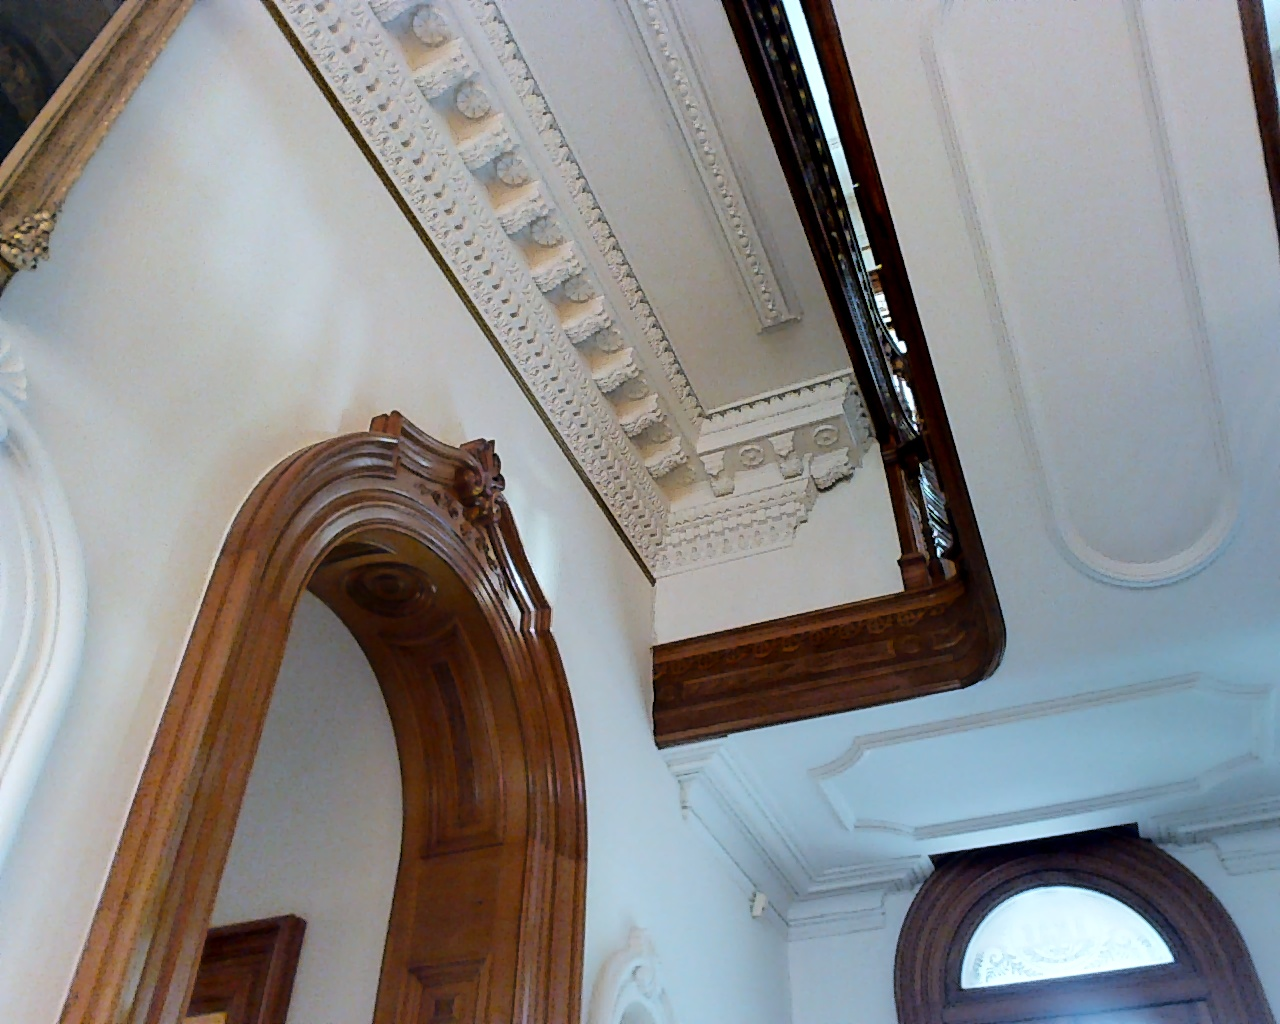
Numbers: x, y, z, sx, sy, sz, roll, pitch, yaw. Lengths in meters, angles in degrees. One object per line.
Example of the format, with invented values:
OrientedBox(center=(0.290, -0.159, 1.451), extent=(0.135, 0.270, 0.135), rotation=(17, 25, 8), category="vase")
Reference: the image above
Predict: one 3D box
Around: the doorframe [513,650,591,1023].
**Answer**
OrientedBox(center=(-0.290, 1.671, 3.200), extent=(0.090, 2.861, 0.240), rotation=(-15, -44, 17), category="doorframe")
